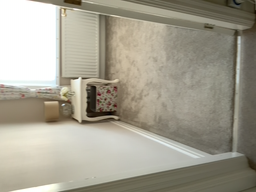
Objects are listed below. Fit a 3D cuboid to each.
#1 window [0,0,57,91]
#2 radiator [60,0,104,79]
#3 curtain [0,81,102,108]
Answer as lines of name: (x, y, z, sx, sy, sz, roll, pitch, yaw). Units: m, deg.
window: (-1.930, -0.900, 2.990, 0.270, 1.750, 1.630, 10, 100, 63)
radiator: (-0.720, -0.930, 3.360, 0.170, 0.660, 1.280, 5, 95, 64)
curtain: (-1.470, -0.020, 3.120, 0.120, 2.260, 0.370, 3, 93, 64)
